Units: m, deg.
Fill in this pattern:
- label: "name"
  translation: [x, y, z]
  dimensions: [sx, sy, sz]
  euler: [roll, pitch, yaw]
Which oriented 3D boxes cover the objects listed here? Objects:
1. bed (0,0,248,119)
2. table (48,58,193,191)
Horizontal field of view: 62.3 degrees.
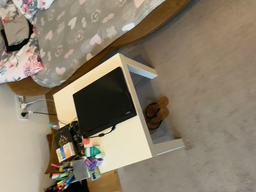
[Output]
- label: "bed"
  translation: [-0.310, -0.760, 1.590]
  dimensions: [1.960, 0.470, 1.220]
  euler: [-28, 72, 28]
- label: "table"
  translation: [-0.060, 0.230, 1.350]
  dimensions: [0.610, 0.470, 0.630]
  euler: [-28, 72, 28]
